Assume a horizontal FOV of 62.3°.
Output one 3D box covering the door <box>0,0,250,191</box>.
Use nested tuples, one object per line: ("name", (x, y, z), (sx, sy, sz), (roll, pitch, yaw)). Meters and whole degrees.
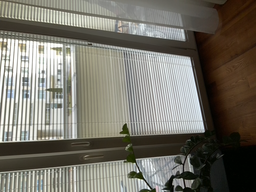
("door", (-0.250, 0.170, 1.420), (0.130, 2.460, 2.370), (142, 126, -62))
